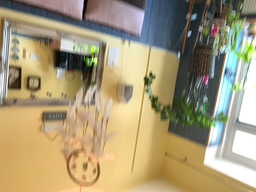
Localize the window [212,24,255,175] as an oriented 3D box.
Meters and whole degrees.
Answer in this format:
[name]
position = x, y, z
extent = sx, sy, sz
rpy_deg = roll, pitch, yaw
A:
[window]
position = 2.010, 0.100, 2.840
extent = 0.160, 2.060, 1.350
rpy_deg = 0, -169, -44
